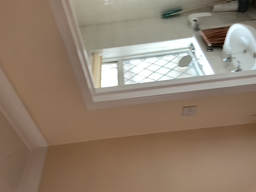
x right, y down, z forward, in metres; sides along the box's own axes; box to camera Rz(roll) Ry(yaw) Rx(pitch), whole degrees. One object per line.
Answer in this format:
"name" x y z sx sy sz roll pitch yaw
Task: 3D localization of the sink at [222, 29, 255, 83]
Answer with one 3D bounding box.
"sink" 1.050 -0.370 1.930 0.420 0.180 0.290 -94 -3 -46
